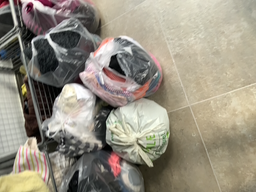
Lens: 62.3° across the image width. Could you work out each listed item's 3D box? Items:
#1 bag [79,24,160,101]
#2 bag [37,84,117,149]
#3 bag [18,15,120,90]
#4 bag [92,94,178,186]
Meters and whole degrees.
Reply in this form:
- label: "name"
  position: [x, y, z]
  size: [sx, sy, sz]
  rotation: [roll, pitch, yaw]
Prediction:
- label: "bag"
  position: [-0.030, -0.130, 1.040]
  size: [0.300, 0.280, 0.310]
  rotation: [-1, 89, 26]
- label: "bag"
  position: [-0.250, 0.090, 1.120]
  size: [0.240, 0.330, 0.270]
  rotation: [5, 91, 26]
- label: "bag"
  position: [-0.290, -0.210, 1.110]
  size: [0.330, 0.350, 0.290]
  rotation: [12, 94, 26]
- label: "bag"
  position: [0.040, 0.180, 1.020]
  size: [0.340, 0.240, 0.360]
  rotation: [-1, 88, 26]
